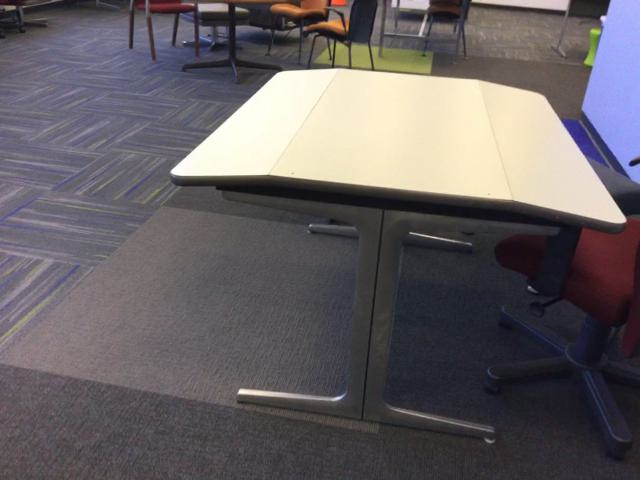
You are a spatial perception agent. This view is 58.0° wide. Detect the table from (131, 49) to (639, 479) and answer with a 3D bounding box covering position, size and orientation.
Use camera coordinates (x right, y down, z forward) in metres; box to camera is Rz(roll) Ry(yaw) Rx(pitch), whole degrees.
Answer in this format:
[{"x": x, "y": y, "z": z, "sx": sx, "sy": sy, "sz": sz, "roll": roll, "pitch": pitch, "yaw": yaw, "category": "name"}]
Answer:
[{"x": 0.230, "y": -0.090, "z": 2.030, "sx": 1.130, "sy": 0.820, "sz": 1.340, "roll": 9, "pitch": 28, "yaw": 10, "category": "table"}]
